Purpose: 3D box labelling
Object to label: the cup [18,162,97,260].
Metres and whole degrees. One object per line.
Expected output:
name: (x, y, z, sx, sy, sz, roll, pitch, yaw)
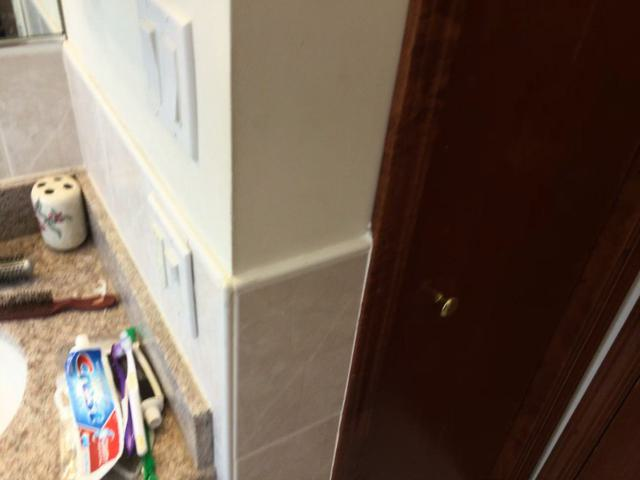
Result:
cup: (-0.430, -0.050, 0.950, 0.080, 0.110, 0.100, -17, 42, -27)
